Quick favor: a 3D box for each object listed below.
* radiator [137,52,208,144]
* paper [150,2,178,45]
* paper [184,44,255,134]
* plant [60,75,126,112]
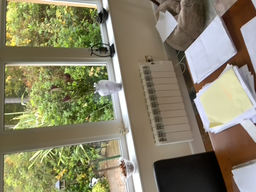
[{"bbox_3d":[0.490,-0.010,2.440,0.150,0.570,1.030,132,132,-60],"label":"radiator"},{"bbox_3d":[0.440,-0.890,2.640,0.380,0.100,0.330,126,137,-57],"label":"paper"},{"bbox_3d":[0.490,-0.010,1.100,0.410,0.110,0.320,131,133,-60],"label":"paper"},{"bbox_3d":[-0.430,-0.030,2.490,0.430,0.670,0.250,125,137,-57],"label":"plant"}]
